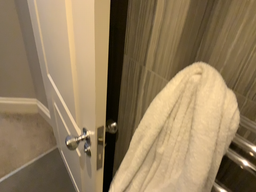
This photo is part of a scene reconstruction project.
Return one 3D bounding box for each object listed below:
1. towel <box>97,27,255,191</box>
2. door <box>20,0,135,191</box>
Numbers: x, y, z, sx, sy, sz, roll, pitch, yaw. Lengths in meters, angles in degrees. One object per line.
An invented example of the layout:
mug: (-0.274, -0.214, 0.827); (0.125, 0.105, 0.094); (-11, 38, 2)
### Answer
towel: (0.080, 0.360, 0.750); (0.350, 1.080, 0.190); (35, 48, 28)
door: (-0.280, -0.140, 0.860); (0.090, 2.080, 0.840); (-18, 47, -27)
